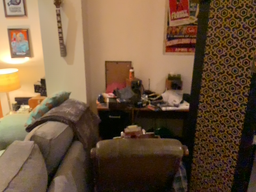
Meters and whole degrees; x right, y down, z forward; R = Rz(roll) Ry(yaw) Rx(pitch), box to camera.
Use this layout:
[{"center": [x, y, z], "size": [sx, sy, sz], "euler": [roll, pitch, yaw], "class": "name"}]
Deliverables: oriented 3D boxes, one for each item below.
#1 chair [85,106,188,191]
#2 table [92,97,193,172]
[{"center": [0.050, 0.610, 1.630], "size": [0.570, 0.880, 0.680], "euler": [0, 17, 0], "class": "chair"}, {"center": [0.150, 0.430, 2.500], "size": [1.030, 0.720, 0.480], "euler": [0, 17, -1], "class": "table"}]
